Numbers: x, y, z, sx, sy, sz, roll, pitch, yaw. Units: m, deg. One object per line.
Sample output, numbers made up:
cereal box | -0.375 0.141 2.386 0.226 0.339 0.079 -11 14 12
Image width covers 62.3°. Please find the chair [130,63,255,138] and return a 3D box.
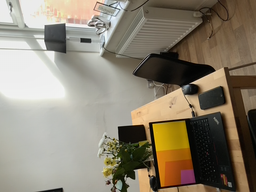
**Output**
chair | 0.500 0.040 1.540 0.400 0.840 0.430 149 117 -67

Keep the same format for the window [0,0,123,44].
window | -1.080 -0.850 2.000 1.080 1.890 0.200 149 117 -67
